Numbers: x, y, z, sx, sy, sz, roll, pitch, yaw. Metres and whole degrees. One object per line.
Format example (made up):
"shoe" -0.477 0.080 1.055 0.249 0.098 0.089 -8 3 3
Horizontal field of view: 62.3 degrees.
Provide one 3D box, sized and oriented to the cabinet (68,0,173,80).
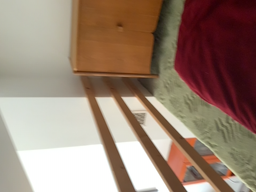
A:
"cabinet" -0.100 -0.570 1.730 0.440 0.700 0.750 -127 42 -58
